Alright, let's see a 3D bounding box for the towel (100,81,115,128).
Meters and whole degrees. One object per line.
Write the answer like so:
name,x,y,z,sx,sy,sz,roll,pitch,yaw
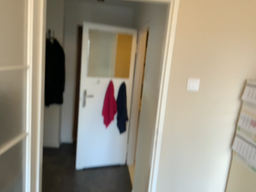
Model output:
towel,-0.290,0.120,2.970,0.140,0.630,0.100,8,10,14
